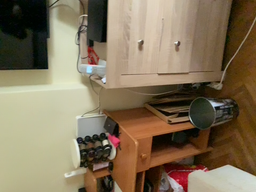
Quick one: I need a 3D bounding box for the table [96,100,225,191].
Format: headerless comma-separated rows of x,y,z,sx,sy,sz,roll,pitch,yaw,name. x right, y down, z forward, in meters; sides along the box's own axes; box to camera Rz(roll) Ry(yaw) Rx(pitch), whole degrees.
0.210,0.560,1.730,0.530,0.780,0.870,35,124,56,table

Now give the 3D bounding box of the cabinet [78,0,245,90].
0.200,-0.550,1.430,0.580,0.910,0.830,37,126,55,cabinet
